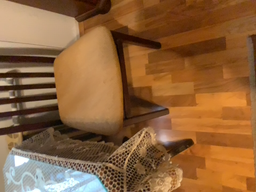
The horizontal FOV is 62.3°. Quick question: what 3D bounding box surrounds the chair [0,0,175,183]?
[{"bbox_3d":[-0.300,-0.030,0.970,0.590,0.970,0.460,-8,89,38],"label":"chair"}]
